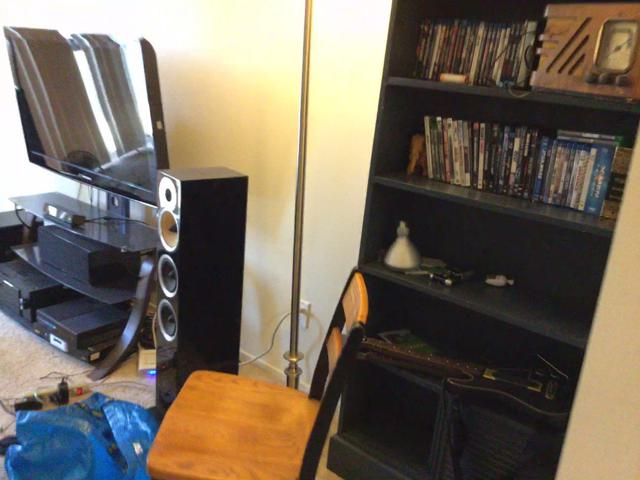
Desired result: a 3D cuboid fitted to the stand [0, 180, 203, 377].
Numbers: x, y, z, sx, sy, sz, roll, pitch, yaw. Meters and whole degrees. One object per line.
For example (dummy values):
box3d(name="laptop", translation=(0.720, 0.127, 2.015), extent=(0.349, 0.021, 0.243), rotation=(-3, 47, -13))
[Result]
box3d(name="stand", translation=(-1.230, 0.110, 2.870), extent=(1.210, 0.620, 0.510), rotation=(15, 13, 32))
